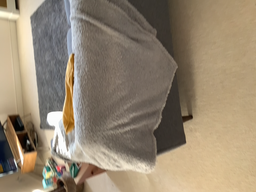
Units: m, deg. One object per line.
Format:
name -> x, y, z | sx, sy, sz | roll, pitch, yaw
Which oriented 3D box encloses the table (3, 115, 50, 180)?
table -> -1.790, 0.840, 3.670 | 0.990, 0.410, 0.490 | 42, 122, 36
